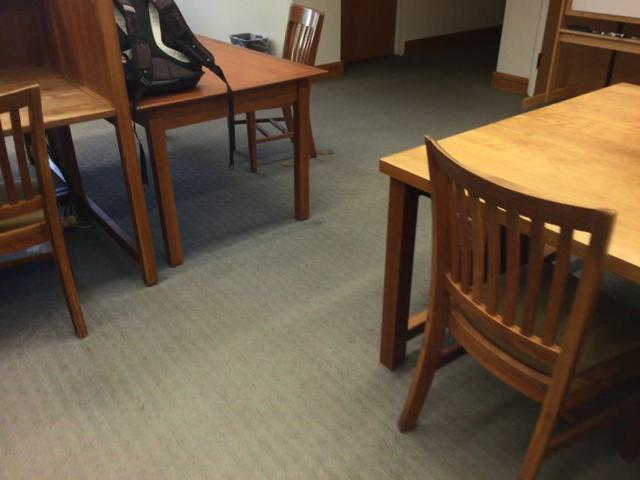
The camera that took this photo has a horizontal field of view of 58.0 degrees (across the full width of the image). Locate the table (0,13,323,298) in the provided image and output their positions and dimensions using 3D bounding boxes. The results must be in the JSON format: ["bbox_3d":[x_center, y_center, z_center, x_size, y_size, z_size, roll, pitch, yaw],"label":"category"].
[{"bbox_3d":[-0.980,-0.630,3.090,1.060,0.770,1.870,-22,36,-31],"label":"table"}]
